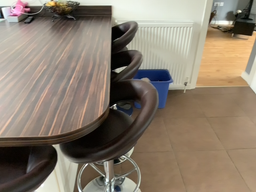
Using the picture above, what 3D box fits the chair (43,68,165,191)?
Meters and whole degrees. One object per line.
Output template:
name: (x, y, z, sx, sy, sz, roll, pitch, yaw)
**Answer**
chair: (-0.110, 0.360, 1.210, 0.430, 0.890, 0.530, -1, 32, -4)
